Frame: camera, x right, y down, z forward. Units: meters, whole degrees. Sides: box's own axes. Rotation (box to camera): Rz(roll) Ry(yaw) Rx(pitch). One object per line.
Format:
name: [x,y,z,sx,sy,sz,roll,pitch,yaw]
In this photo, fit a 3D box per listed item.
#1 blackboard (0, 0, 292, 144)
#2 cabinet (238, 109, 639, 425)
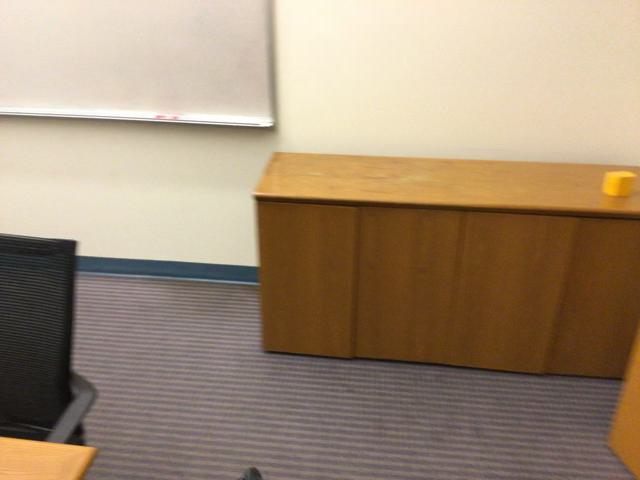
blackboard: [-0.780,-0.790,2.440,1.290,0.620,0.140,6,24,3]
cabinet: [0.540,0.070,2.340,1.610,0.910,0.560,8,24,6]
